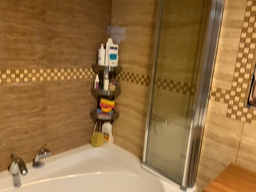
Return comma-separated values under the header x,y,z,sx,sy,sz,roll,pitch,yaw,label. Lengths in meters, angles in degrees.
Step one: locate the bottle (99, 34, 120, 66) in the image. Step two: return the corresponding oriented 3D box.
x,y,z,sx,sy,sz,roll,pitch,yaw,label
-0.160,-0.400,1.840,0.160,0.250,0.170,4,13,-4,bottle
